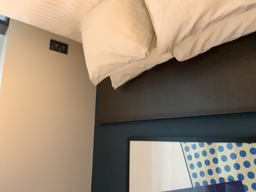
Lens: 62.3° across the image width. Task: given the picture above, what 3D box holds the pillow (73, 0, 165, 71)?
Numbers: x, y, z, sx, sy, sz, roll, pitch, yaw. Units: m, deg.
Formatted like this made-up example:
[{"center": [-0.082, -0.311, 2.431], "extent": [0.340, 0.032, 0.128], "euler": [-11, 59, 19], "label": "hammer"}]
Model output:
[{"center": [-0.090, -0.350, 1.230], "extent": [0.220, 0.380, 0.590], "euler": [3, -176, -36], "label": "pillow"}]
